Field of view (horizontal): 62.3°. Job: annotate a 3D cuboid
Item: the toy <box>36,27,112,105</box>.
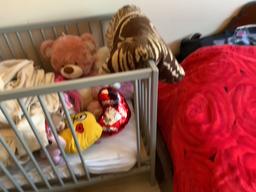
[{"bbox_3d":[-0.300,-0.180,1.260,0.340,0.330,0.260,-10,41,-7],"label":"toy"}]
